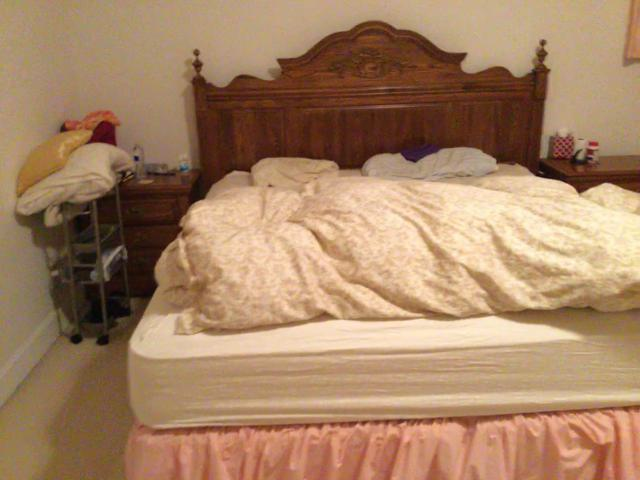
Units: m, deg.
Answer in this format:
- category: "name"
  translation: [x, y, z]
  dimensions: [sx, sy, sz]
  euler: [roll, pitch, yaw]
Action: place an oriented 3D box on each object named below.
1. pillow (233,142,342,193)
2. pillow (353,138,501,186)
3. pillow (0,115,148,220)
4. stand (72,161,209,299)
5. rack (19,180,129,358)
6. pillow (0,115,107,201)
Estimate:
- category: "pillow"
  translation: [-0.170, -0.400, 3.110]
  dimensions: [0.530, 0.170, 0.500]
  euler: [-5, 15, -2]
- category: "pillow"
  translation: [0.570, -0.440, 3.200]
  dimensions: [0.730, 0.160, 0.410]
  euler: [-5, 15, -2]
- category: "pillow"
  translation: [-1.100, -0.350, 2.610]
  dimensions: [0.440, 0.360, 0.620]
  euler: [-5, 15, -1]
- category: "stand"
  translation: [-0.980, -0.070, 3.260]
  dimensions: [0.540, 0.630, 0.410]
  euler: [-8, 15, 0]
- category: "rack"
  translation: [-1.140, 0.120, 2.740]
  dimensions: [0.250, 0.750, 0.380]
  euler: [-5, 12, -1]
- category: "pillow"
  translation: [-1.180, -0.380, 2.580]
  dimensions: [0.260, 0.310, 0.450]
  euler: [-5, 15, -1]
